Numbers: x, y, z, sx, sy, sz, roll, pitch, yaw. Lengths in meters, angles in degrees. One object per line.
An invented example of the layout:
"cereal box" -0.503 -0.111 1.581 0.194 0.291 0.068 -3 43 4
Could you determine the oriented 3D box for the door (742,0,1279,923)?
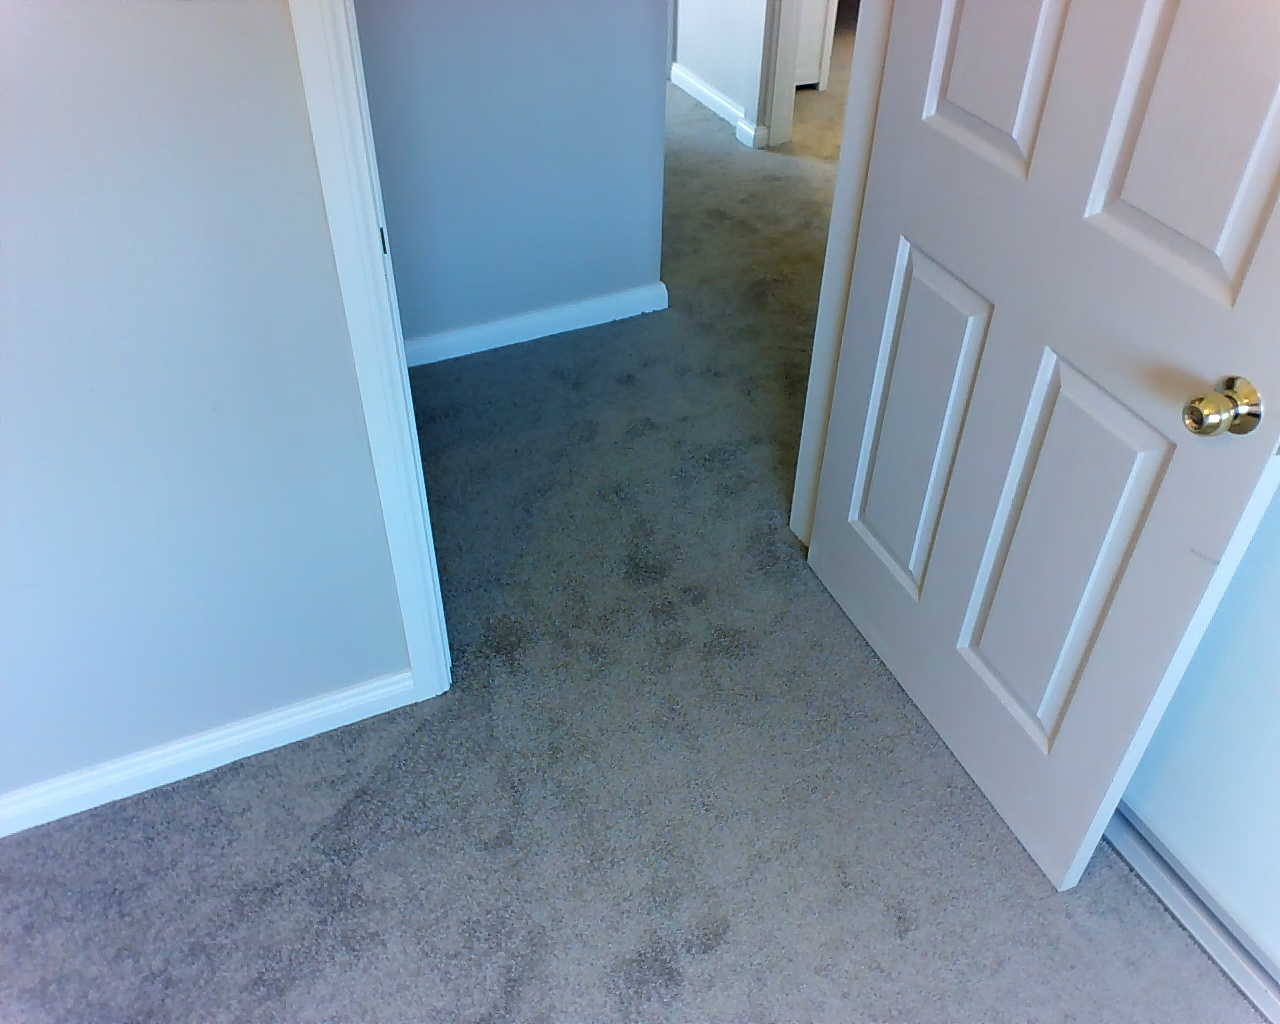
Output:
"door" 0.520 -0.440 1.370 0.220 2.000 0.940 -17 42 -19
